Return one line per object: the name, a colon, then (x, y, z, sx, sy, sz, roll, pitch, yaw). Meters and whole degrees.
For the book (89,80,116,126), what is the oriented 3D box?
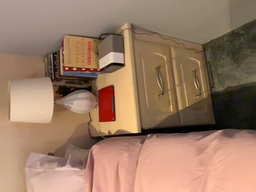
book: (-0.130, 0.040, 1.030, 0.170, 0.040, 0.180, -33, 62, 53)

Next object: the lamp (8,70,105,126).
lamp: (-0.340, 0.020, 1.030, 0.170, 0.410, 0.210, -23, 70, 56)
